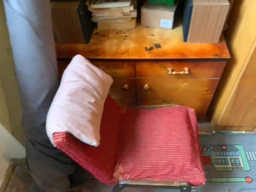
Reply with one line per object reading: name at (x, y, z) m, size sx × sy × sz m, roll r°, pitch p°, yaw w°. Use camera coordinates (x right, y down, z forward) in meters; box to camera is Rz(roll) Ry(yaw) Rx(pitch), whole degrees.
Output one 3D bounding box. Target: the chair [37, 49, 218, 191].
chair at (0.020, 0.180, 1.120) m, size 0.600 × 0.730 × 0.430 m, roll 1°, pitch 52°, yaw 5°
